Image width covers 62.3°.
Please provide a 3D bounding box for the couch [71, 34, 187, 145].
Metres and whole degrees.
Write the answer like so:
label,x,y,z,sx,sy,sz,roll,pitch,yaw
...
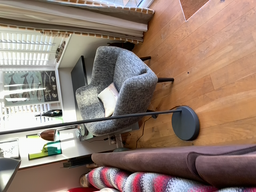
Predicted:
label,x,y,z,sx,sy,sz,roll,pitch,yaw
couch,-0.070,-0.110,2.280,0.810,0.820,0.770,53,137,44
